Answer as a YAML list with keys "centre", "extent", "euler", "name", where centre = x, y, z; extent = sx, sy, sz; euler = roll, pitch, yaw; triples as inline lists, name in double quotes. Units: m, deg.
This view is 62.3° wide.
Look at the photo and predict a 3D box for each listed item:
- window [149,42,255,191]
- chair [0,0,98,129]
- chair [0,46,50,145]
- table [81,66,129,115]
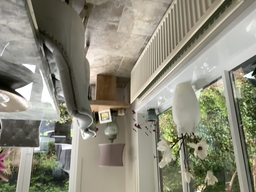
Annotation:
- centre: [0.650, 0.580, 1.650]
  extent: [0.140, 1.470, 2.140]
  euler: [5, 162, -15]
  name: "window"
- centre: [-0.560, -0.350, 1.370]
  extent: [0.660, 1.030, 0.530]
  euler: [4, 162, -13]
  name: "chair"
- centre: [-1.340, 0.040, 2.590]
  extent: [0.580, 1.040, 0.660]
  euler: [4, 162, -14]
  name: "chair"
- centre: [-0.360, -0.050, 3.140]
  extent: [0.610, 0.510, 0.630]
  euler: [4, 162, -14]
  name: "table"
